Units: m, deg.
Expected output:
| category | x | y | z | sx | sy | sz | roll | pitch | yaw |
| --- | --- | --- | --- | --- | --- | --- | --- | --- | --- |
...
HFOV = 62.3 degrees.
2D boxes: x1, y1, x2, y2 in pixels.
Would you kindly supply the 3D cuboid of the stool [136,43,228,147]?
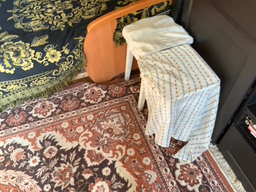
| category | x | y | z | sx | sy | sz | roll | pitch | yaw |
| --- | --- | --- | --- | --- | --- | --- | --- | --- | --- |
| stool | 0.250 | 0.010 | 1.180 | 0.320 | 0.450 | 0.290 | -15 | 53 | -11 |
